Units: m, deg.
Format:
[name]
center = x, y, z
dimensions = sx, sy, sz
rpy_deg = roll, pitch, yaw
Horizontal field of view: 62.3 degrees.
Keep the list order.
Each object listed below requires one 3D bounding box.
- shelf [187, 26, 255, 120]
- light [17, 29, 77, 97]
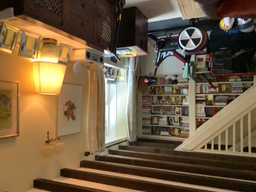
[shelf]
center = 1.970, -0.440, 4.500
dimensions = 1.320, 1.800, 0.440
rpy_deg = 0, 179, 23
[light]
center = -0.860, -0.310, 2.310
dimensions = 0.290, 0.640, 0.540
rpy_deg = 0, 179, 28
